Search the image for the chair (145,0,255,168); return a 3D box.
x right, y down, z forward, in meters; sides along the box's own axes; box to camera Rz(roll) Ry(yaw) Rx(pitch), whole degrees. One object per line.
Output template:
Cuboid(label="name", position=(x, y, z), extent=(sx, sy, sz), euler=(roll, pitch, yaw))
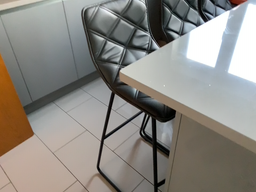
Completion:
Cuboid(label="chair", position=(0.440, -0.120, 1.330), extent=(0.480, 1.030, 0.400), euler=(30, 48, 33))

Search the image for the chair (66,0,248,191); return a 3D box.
Cuboid(label="chair", position=(0.100, 0.110, 1.060), extent=(0.490, 1.030, 0.400), euler=(30, 48, 33))
